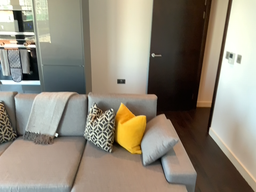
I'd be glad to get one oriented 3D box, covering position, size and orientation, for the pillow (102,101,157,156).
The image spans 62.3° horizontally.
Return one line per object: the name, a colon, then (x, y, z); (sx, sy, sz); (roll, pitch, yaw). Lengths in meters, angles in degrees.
pillow: (0.010, 0.300, 1.970); (0.390, 0.340, 0.150); (25, 22, 1)
